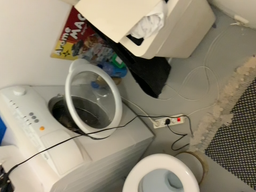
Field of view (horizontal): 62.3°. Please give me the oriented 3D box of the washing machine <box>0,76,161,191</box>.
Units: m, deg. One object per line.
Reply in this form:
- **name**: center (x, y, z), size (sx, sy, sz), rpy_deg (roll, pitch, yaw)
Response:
- **washing machine**: center (-0.350, 0.280, 1.360), size (0.620, 0.860, 0.540), rpy_deg (42, 114, 25)
